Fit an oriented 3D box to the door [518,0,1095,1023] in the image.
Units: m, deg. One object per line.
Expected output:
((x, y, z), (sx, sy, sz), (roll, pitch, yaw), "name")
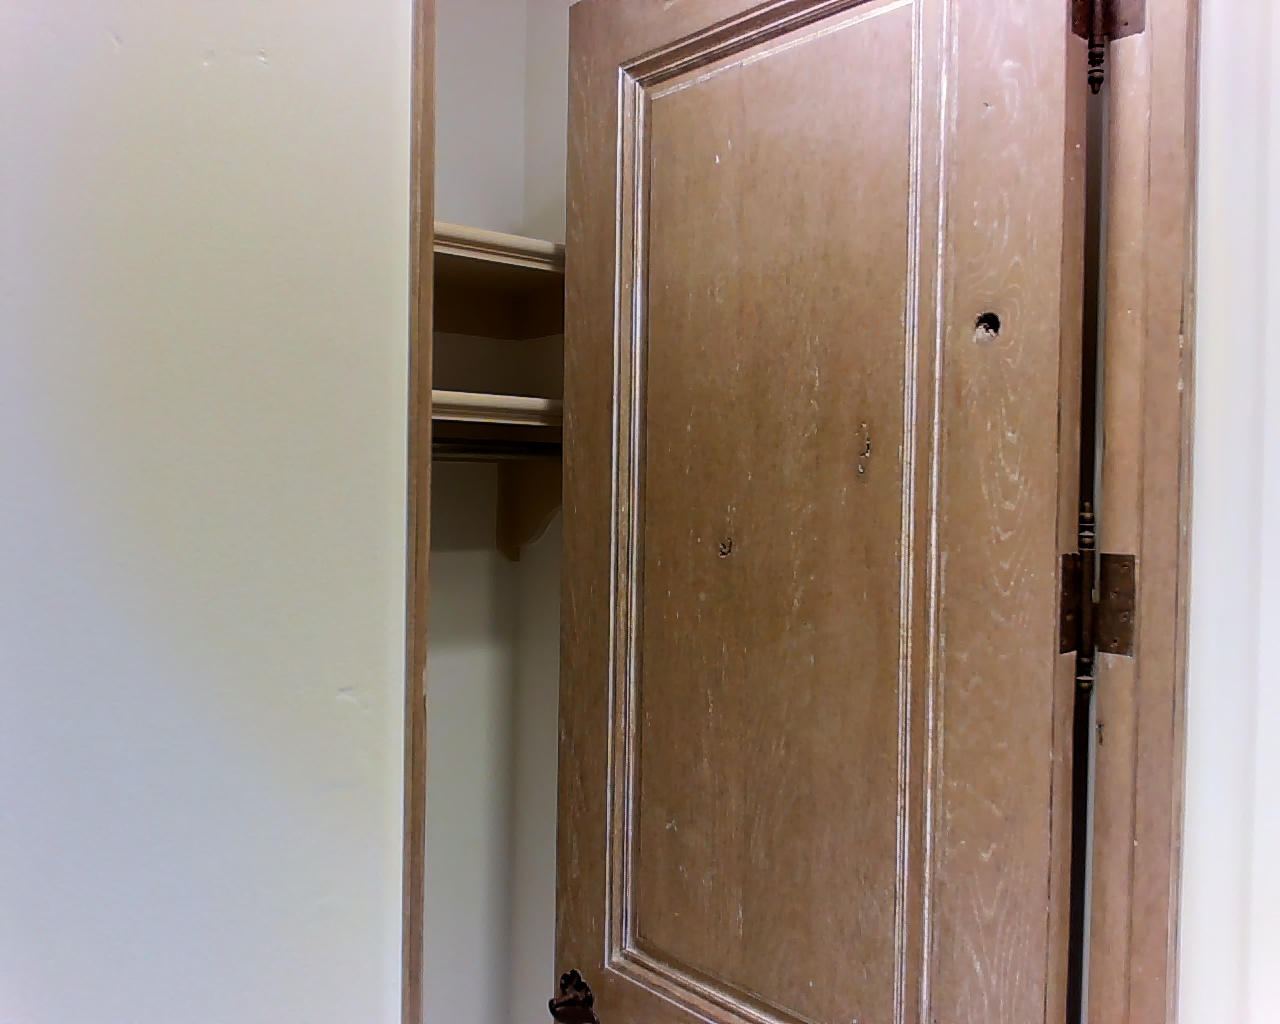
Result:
((0.130, 0.540, 1.400), (0.080, 2.341, 0.870), (1, 0, -41), "door")
